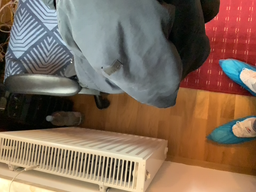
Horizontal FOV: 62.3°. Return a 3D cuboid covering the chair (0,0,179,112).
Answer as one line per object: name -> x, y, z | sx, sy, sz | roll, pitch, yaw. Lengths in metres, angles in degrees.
chair -> -0.240, -0.310, 0.920 | 0.860, 1.080, 0.710 | 1, 85, 15

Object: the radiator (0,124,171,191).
radiator -> -0.250, 0.230, 0.900 | 0.780, 0.980, 0.120 | 3, 86, 15
